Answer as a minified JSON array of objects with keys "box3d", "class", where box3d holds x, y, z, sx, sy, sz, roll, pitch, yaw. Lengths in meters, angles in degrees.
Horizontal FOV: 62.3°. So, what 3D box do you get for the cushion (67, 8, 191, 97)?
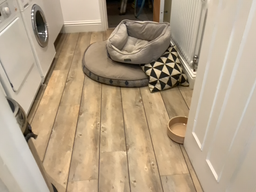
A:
[{"box3d":[-0.020,-0.540,2.260,0.980,0.440,1.150,-3,37,-2],"class":"cushion"}]
